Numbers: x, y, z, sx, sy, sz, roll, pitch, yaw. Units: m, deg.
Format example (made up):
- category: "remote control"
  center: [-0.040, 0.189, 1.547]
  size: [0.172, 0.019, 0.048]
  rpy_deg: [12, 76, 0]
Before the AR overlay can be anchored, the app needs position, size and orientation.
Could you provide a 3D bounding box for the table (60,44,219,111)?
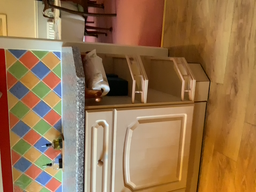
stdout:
- category: "table"
  center: [0.040, -0.160, 1.470]
  size: [0.600, 0.910, 0.320]
  rpy_deg: [-153, 64, -62]
